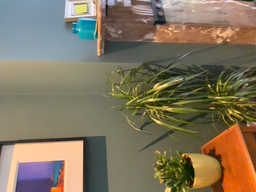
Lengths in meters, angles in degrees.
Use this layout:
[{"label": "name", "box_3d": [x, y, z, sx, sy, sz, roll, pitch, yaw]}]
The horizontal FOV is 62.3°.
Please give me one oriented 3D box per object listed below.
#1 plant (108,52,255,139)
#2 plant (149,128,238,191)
[{"label": "plant", "box_3d": [0.530, 0.020, 1.400, 0.430, 1.280, 0.380, 110, 157, -62]}, {"label": "plant", "box_3d": [0.330, 0.400, 1.210, 0.370, 0.300, 0.320, 109, 159, -61]}]
